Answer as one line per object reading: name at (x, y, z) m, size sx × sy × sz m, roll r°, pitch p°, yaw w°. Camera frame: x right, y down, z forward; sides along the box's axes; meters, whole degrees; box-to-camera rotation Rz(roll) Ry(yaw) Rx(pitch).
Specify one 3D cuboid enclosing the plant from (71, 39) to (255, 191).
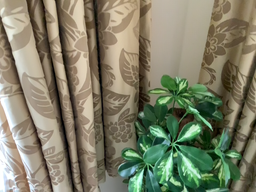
plant at (0.120, 0.410, 0.900) m, size 0.440 × 1.140 × 0.470 m, roll -18°, pitch 34°, yaw -31°
